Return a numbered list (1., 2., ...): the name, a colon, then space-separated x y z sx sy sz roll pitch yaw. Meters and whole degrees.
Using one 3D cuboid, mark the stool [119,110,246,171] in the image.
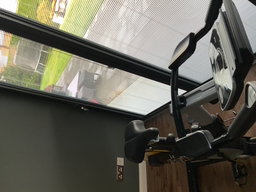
1. stool: 0.410 0.360 1.520 0.300 0.910 0.260 -33 49 52
